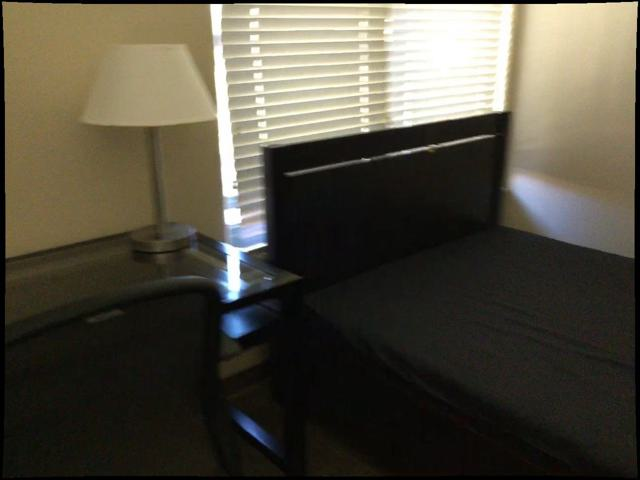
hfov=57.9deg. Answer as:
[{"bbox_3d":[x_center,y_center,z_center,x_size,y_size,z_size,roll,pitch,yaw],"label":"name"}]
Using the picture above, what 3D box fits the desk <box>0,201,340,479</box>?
[{"bbox_3d":[-0.709,0.511,1.480,1.309,0.811,0.800,-18,26,-35],"label":"desk"}]
